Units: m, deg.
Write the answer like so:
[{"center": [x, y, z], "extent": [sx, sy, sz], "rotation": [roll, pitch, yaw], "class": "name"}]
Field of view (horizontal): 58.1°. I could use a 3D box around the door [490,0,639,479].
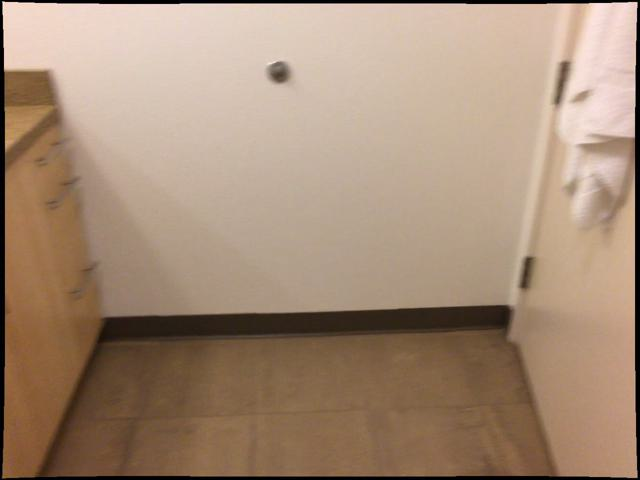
[{"center": [0.648, 0.010, 1.420], "extent": [0.100, 1.293, 1.041], "rotation": [2, 29, 4], "class": "door"}]
